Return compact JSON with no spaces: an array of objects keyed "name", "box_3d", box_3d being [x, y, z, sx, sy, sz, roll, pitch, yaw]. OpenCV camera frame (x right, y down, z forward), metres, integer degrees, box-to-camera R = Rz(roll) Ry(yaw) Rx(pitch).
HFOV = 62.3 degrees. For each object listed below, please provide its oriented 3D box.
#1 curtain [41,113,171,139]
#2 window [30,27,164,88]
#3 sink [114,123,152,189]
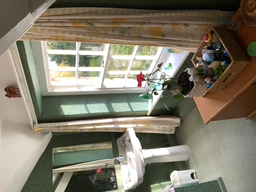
[{"name":"curtain","box_3d":[-0.260,0.390,2.790,0.430,1.610,0.110,126,139,-64]},{"name":"window","box_3d":[-0.330,-0.370,2.310,0.750,1.240,0.160,116,148,-57]},{"name":"sink","box_3d":[0.030,0.750,2.650,0.480,0.240,0.650,112,150,-54]}]
